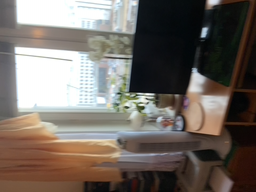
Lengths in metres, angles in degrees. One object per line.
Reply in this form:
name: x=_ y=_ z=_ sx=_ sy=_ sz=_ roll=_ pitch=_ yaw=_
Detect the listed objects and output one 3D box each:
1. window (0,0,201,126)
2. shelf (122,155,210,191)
window: x=-0.290 y=-0.510 z=1.660 sx=0.130 sy=1.680 sz=1.620 roll=-118 pitch=32 yaw=-65
shelf: x=0.330 y=0.830 z=2.030 sx=0.370 sy=0.700 sz=0.340 roll=-118 pitch=32 yaw=-65
